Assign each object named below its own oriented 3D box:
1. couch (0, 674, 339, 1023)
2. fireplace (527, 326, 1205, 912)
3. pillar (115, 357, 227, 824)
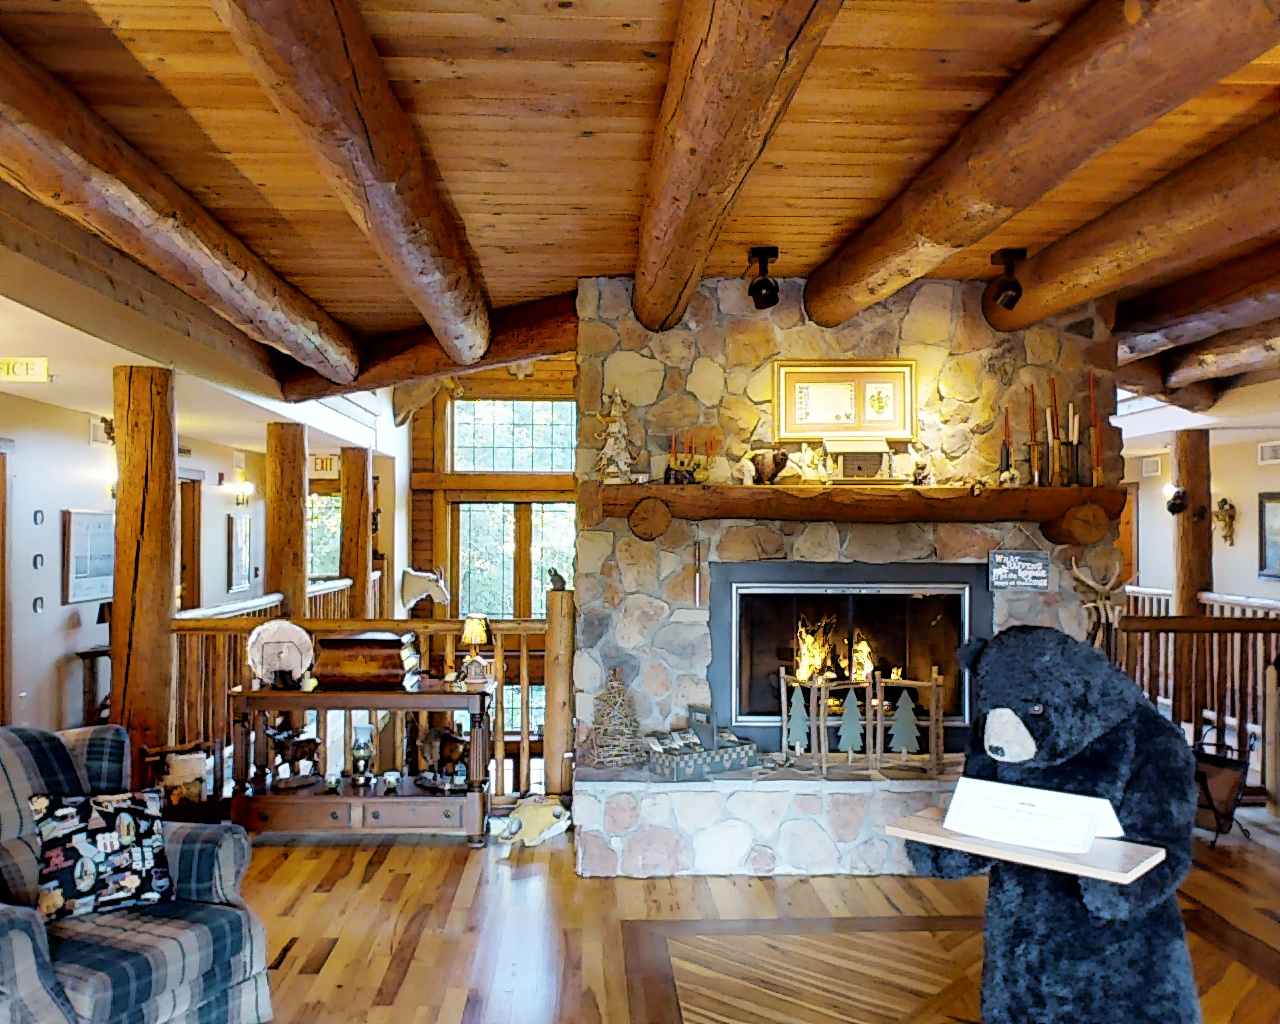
[{"bbox_3d":[-1.740,1.050,3.190,1.200,0.930,1.110,0,-1,23],"label":"couch"},{"bbox_3d":[0.990,0.480,5.680,3.059,2.571,1.740,0,-1,-3],"label":"fireplace"},{"bbox_3d":[-2.499,0.400,5.780,0.350,2.371,0.600,0,-1,-3],"label":"pillar"}]
